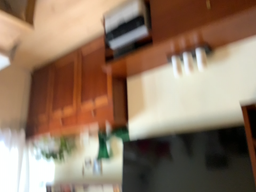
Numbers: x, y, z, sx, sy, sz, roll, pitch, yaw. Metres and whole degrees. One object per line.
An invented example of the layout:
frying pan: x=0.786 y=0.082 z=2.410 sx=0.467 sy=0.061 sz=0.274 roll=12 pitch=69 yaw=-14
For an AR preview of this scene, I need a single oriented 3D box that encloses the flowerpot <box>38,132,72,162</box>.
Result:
flowerpot: x=-0.960 y=0.680 z=2.810 sx=0.360 sy=0.350 sz=0.240 roll=-14 pitch=160 yaw=33
